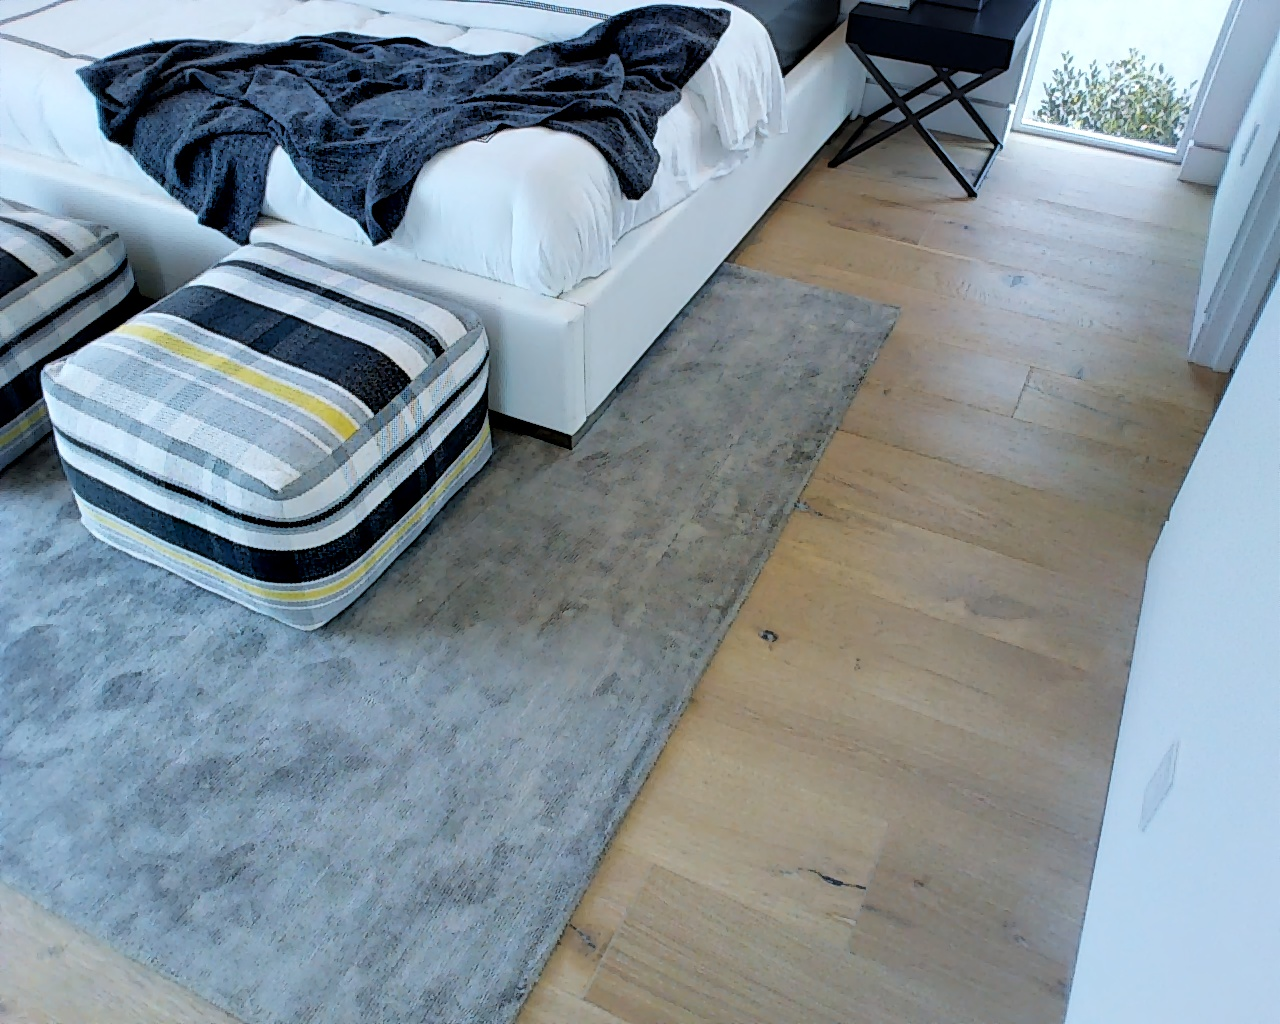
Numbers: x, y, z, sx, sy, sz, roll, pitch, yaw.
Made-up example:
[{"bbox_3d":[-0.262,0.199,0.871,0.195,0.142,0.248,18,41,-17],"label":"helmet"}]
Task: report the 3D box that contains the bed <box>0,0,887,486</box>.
[{"bbox_3d":[-0.610,-1.290,3.330,2.130,0.600,2.270,19,45,18],"label":"bed"}]
